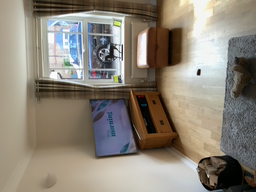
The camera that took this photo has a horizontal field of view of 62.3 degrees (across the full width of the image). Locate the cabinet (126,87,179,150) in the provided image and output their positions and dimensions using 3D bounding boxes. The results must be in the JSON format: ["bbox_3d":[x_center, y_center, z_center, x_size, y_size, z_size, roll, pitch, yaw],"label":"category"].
[{"bbox_3d":[0.370,0.340,3.630,0.360,0.570,1.040,106,157,-45],"label":"cabinet"}]
